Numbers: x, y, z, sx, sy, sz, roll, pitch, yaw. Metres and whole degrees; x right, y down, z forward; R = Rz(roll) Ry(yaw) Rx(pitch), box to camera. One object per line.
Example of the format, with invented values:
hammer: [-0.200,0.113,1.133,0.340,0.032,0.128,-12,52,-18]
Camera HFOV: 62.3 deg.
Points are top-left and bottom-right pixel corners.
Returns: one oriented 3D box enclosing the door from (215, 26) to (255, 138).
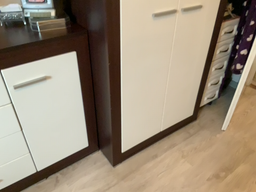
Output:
door: [1.000,-0.640,1.510,0.060,1.880,0.860,21,40,24]
